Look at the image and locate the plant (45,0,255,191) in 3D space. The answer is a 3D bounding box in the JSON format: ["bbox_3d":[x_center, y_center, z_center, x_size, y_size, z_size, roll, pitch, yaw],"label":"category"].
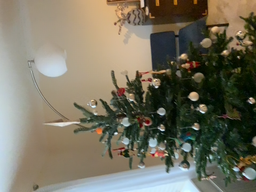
[{"bbox_3d":[0.460,0.110,1.570,1.070,1.650,1.300,-151,54,-80],"label":"plant"}]
